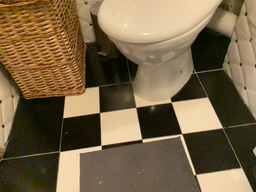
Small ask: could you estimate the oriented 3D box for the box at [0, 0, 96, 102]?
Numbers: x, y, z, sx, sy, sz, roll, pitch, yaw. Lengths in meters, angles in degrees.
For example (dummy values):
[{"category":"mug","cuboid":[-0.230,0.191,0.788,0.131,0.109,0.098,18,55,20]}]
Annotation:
[{"category":"box","cuboid":[-0.370,-0.320,0.970,0.330,0.490,0.440,-10,50,-3]}]
